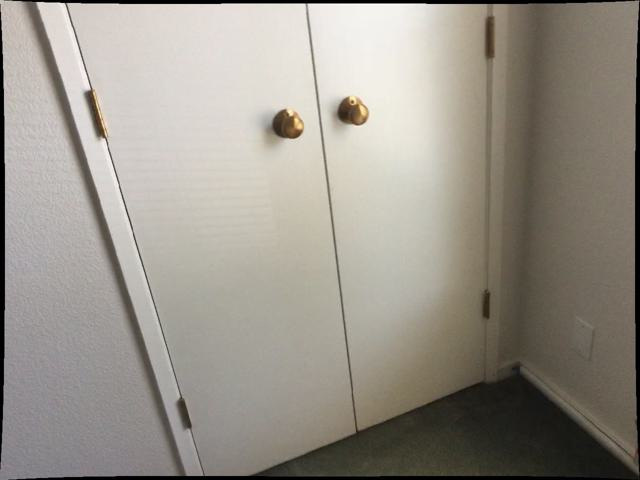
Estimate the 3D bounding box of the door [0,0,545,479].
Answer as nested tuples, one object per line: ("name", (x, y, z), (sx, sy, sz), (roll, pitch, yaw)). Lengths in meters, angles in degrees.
("door", (-0.010, -0.341, 1.280), (1.179, 2.093, 0.100), (-18, 30, -17))
